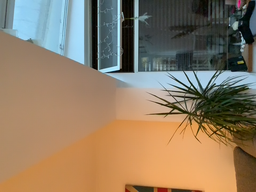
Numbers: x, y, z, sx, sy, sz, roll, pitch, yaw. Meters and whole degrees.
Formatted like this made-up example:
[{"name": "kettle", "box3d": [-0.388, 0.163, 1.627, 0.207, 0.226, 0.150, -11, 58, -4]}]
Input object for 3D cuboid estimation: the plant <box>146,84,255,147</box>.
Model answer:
[{"name": "plant", "box3d": [1.020, 0.130, 1.590, 0.340, 1.740, 0.430, -11, -79, -81]}]
